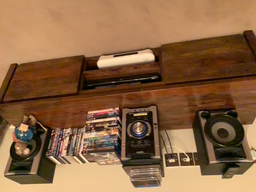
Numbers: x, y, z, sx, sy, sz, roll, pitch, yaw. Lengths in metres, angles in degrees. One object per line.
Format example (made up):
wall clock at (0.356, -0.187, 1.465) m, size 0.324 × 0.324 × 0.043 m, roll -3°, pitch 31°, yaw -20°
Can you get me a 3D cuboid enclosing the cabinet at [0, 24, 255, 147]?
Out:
cabinet at (-0.010, 0.000, 1.430) m, size 1.480 × 0.370 × 0.610 m, roll -6°, pitch 143°, yaw 8°
